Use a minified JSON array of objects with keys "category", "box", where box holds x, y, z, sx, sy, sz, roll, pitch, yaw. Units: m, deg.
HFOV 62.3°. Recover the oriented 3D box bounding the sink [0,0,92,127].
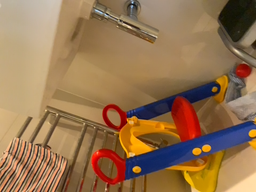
[{"category":"sink","box":[-0.220,-0.290,0.640,0.460,0.150,0.620,-83,17,-51]}]
